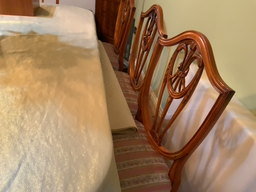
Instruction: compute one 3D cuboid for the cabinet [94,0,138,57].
[{"bbox_3d":[-0.130,-1.460,2.540,0.460,1.880,0.560,0,34,-13],"label":"cabinet"}]
